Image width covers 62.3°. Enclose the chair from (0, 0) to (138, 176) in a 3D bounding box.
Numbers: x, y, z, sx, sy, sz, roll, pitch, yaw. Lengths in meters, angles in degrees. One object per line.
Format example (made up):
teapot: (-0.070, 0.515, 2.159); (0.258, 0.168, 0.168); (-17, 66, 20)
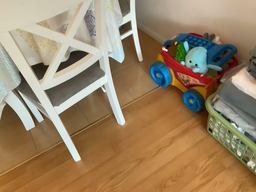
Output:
chair: (-0.300, -0.120, 1.000); (0.420, 0.870, 0.500); (-35, 53, -23)
